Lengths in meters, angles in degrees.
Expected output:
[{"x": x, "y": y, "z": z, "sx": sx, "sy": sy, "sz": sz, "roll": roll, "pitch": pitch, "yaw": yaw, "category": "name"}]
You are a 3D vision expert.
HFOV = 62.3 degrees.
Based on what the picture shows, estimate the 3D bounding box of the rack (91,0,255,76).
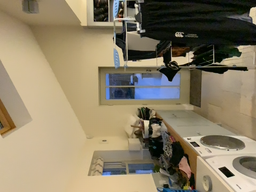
[{"x": 0.590, "y": -0.660, "z": 2.280, "sx": 1.040, "sy": 1.840, "sz": 0.840, "roll": -132, "pitch": 41, "yaw": -84, "category": "rack"}]
